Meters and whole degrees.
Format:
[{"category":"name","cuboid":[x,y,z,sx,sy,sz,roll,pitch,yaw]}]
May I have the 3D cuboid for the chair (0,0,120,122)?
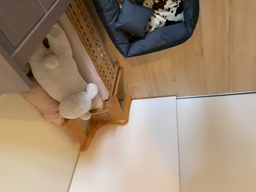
[{"category":"chair","cuboid":[-0.380,-0.260,1.330,0.400,0.530,0.650,-7,135,17]}]
